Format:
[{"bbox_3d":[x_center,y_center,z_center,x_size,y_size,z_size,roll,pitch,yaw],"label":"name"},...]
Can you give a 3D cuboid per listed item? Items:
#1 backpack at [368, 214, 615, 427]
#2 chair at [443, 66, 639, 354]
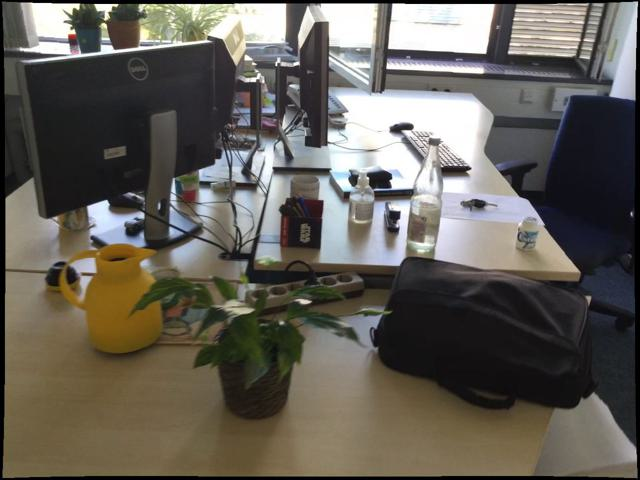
[{"bbox_3d":[0.350,0.130,1.160,0.400,0.160,0.350,13,32,22],"label":"backpack"},{"bbox_3d":[1.049,-0.180,2.420,0.690,0.861,0.690,26,38,37],"label":"chair"}]
